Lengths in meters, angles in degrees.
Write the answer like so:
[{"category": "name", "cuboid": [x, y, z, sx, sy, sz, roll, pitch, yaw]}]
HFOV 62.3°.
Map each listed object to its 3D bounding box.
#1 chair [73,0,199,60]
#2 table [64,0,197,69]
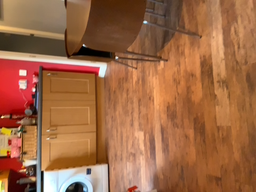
[{"category": "chair", "cuboid": [0.040, -0.580, 1.530, 0.470, 0.760, 0.460, -14, 76, 63]}, {"category": "table", "cuboid": [-0.070, -0.810, 1.780, 0.890, 0.760, 0.920, -15, 76, 63]}]
